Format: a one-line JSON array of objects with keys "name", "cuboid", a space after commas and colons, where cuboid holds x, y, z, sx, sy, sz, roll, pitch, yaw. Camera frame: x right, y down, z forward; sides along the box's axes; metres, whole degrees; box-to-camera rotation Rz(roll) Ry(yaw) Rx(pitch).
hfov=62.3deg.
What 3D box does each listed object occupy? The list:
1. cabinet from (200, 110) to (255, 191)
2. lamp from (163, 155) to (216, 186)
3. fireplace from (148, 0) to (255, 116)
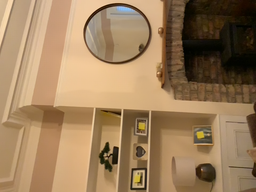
[{"name": "cabinet", "cuboid": [1.250, 0.760, 2.200, 0.400, 0.830, 1.110, 89, -175, -71]}, {"name": "lamp", "cuboid": [0.620, 0.780, 2.210, 0.300, 0.450, 0.250, 89, -175, -69]}, {"name": "fireplace", "cuboid": [1.030, -0.670, 2.570, 0.650, 1.450, 1.630, 89, -175, -71]}]
